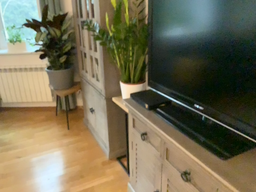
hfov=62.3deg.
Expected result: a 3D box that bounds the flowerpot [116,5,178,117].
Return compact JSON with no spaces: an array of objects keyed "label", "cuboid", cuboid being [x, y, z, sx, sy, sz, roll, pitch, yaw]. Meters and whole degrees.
[{"label":"flowerpot","cuboid":[0.150,-0.310,1.840,0.370,0.870,0.330,-11,23,-24]}]

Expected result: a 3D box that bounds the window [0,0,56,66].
[{"label":"window","cuboid":[-1.690,-1.400,2.960,1.010,1.920,0.290,-1,21,-1]}]

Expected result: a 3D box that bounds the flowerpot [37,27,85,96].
[{"label":"flowerpot","cuboid":[-0.890,-0.480,2.850,0.420,0.810,0.440,-13,24,-29]}]
